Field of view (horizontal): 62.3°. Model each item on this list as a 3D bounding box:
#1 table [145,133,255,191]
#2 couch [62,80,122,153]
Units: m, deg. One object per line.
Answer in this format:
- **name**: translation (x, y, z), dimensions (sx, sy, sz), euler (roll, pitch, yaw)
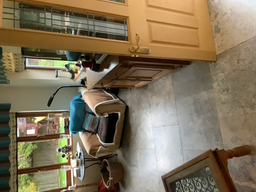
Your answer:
- **table**: translation (0.630, 0.870, 1.950), dimensions (0.800, 0.450, 0.770), euler (-54, 44, 50)
- **couch**: translation (-0.790, 0.350, 4.330), dimensions (1.020, 0.860, 1.100), euler (39, 124, 57)
